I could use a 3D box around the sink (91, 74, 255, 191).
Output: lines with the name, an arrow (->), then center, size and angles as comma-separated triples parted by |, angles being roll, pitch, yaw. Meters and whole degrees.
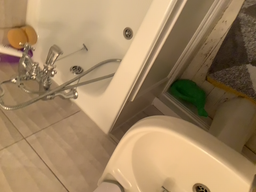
sink -> 0.220, 0.310, 0.650 | 0.620, 0.190, 0.440 | 41, 129, 17
